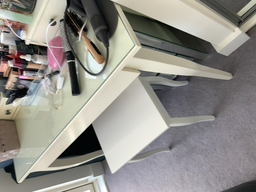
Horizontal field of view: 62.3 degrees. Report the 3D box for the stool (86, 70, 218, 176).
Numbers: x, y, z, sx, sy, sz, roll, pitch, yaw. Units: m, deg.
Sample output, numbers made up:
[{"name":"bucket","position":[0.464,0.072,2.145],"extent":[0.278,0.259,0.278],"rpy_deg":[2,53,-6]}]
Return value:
[{"name":"stool","position":[0.120,0.140,1.110],"extent":[0.420,0.460,0.290],"rpy_deg":[-48,57,34]}]
